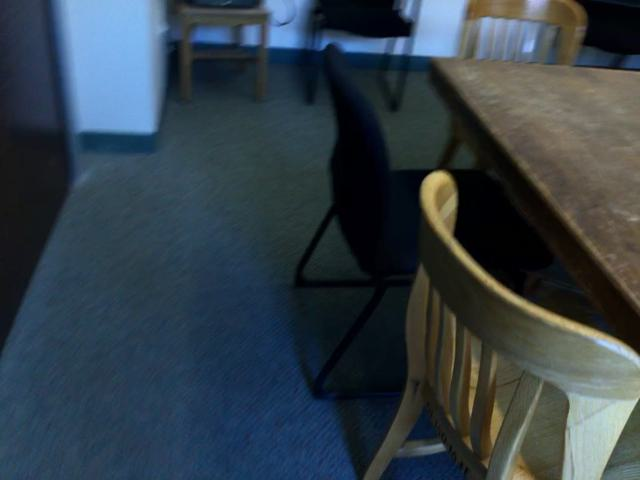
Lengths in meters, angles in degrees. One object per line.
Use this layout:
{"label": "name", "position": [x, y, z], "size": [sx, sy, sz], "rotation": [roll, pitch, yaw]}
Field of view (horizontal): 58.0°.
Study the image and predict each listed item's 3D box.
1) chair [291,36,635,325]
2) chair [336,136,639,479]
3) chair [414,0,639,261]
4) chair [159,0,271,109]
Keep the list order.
{"label": "chair", "position": [0.270, -0.170, 1.460], "size": [0.630, 0.530, 0.490], "rotation": [-3, 36, -8]}
{"label": "chair", "position": [0.390, 0.300, 1.080], "size": [0.590, 0.830, 0.500], "rotation": [-3, 36, -8]}
{"label": "chair", "position": [0.730, -0.440, 2.140], "size": [0.500, 0.810, 0.610], "rotation": [-3, 36, -8]}
{"label": "chair", "position": [-0.530, -1.220, 2.960], "size": [0.510, 0.890, 0.630], "rotation": [-3, 36, -8]}
